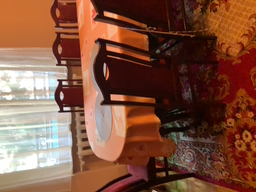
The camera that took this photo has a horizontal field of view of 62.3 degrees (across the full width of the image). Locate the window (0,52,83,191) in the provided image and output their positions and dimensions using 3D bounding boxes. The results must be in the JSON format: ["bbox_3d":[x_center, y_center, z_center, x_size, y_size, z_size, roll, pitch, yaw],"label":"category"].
[{"bbox_3d":[-1.390,0.280,2.210,0.100,1.760,1.510,-17,76,62],"label":"window"}]
